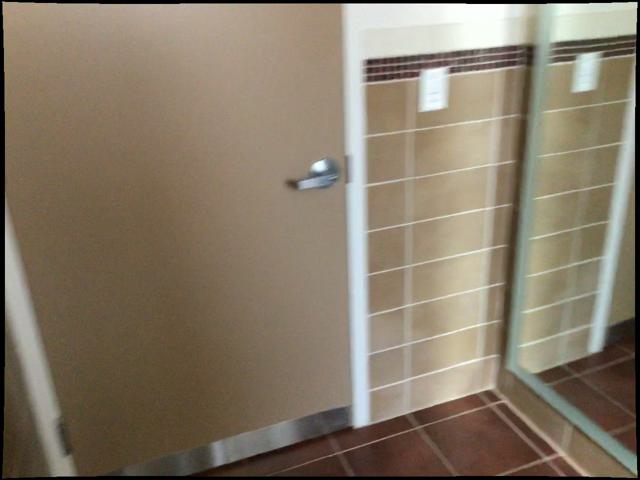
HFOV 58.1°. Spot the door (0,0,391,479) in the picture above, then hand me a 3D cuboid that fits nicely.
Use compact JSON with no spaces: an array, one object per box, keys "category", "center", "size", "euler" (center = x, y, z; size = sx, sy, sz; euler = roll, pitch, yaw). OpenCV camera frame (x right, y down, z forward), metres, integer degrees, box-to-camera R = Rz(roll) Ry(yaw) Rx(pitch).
[{"category":"door","center":[-0.339,0.070,1.650],"size":[1.088,1.553,0.100],"euler":[-11,22,-16]}]

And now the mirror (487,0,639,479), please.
[{"category":"mirror","center":[0.758,-0.070,1.580],"size":[0.110,1.664,0.800],"euler":[-11,22,-16]}]
